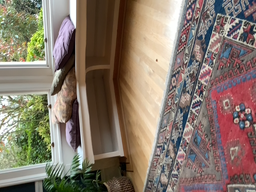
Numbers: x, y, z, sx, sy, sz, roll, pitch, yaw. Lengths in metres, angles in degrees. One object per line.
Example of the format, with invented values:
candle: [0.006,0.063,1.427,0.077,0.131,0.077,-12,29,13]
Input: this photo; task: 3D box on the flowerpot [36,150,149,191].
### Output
flowerpot: [-0.330,0.990,1.890,0.770,0.830,0.700,121,140,-56]

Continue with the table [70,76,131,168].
table: [-0.320,0.270,2.230,0.460,0.460,0.830,143,120,-65]

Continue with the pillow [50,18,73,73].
pillow: [-0.650,-0.500,2.060,0.460,0.160,0.420,-129,40,-56]

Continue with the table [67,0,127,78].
table: [-0.320,-0.800,2.020,0.470,0.460,1.150,-125,37,-53]
